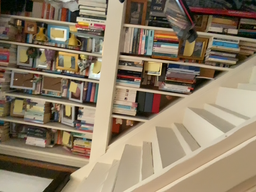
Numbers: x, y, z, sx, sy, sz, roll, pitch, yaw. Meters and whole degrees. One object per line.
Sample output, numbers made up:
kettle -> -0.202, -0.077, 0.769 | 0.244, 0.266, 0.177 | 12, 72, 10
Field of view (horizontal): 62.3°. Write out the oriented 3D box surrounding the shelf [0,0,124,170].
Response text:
shelf -> -0.820, -0.160, 2.060 | 1.350, 1.510, 0.170 | 9, -174, 5
